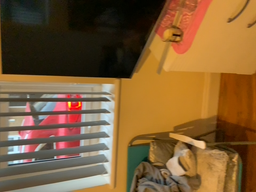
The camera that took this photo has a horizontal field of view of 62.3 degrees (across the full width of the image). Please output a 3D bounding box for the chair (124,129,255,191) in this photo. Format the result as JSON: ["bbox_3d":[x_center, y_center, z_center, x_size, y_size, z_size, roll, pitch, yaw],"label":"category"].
[{"bbox_3d":[0.450,0.520,1.330,0.510,0.800,0.480,9,97,61],"label":"chair"}]
